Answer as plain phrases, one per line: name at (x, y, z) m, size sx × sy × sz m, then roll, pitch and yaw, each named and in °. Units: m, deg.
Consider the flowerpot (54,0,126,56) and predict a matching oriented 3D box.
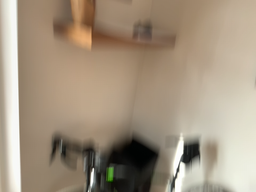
flowerpot at (-0.190, -0.540, 1.140) m, size 0.220 × 0.600 × 0.300 m, roll 20°, pitch 22°, yaw 32°
